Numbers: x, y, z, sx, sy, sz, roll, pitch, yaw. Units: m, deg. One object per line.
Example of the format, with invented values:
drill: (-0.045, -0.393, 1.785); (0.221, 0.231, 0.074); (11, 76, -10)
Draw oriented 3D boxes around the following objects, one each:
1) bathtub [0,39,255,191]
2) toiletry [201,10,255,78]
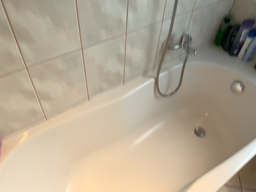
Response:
bathtub: (0.100, 0.360, 1.230); (1.810, 0.560, 0.720); (-29, 56, -27)
toiletry: (0.770, -0.300, 1.360); (0.070, 0.250, 0.620); (-28, 55, -27)
